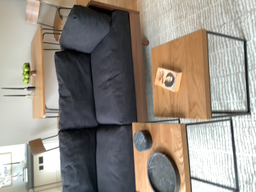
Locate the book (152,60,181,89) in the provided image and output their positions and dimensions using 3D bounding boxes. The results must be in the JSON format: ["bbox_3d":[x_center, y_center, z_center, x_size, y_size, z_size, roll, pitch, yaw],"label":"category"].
[{"bbox_3d":[0.220,-0.130,1.240,0.160,0.040,0.120,40,123,49],"label":"book"}]
